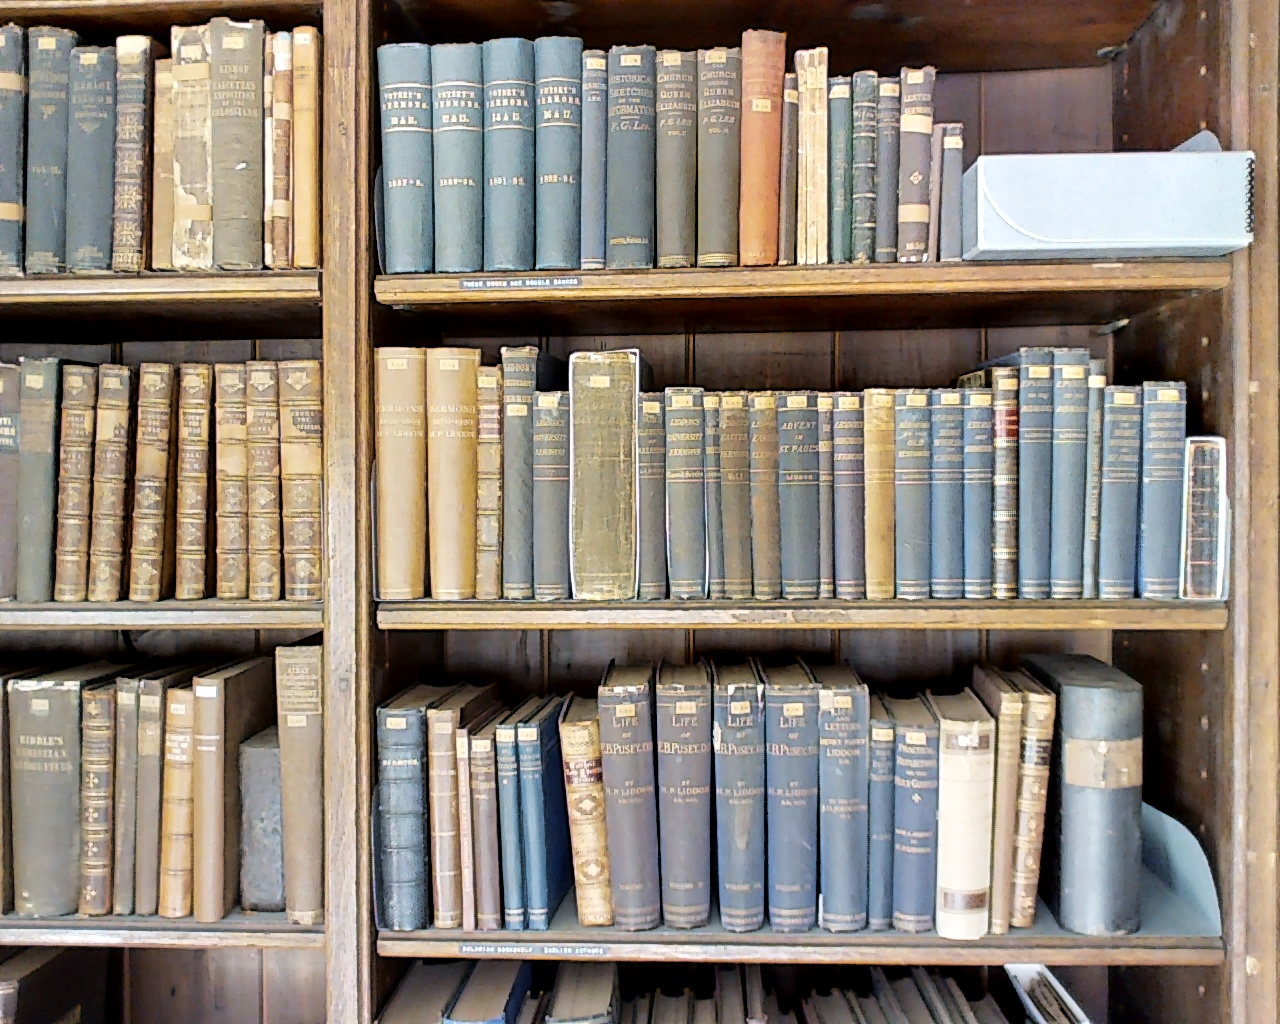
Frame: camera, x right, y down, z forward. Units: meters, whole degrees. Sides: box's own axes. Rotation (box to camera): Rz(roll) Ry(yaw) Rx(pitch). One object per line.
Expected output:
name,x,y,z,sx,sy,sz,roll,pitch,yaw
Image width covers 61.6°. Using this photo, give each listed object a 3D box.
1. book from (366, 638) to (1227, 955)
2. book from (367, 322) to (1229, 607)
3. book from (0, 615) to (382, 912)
book,0.140,0.270,1.080,0.780,0.260,0.200,-1,0,3
book,0.140,-0.040,1.070,0.780,0.250,0.180,-1,0,4
book,-0.680,0.250,1.120,0.770,0.260,0.200,-1,0,2
